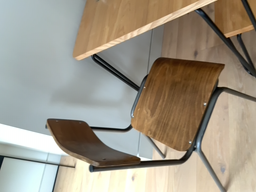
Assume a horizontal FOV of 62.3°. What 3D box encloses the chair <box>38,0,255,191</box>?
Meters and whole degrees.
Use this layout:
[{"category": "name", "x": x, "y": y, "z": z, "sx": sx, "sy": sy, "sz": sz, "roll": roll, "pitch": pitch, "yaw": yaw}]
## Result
[{"category": "chair", "x": 0.160, "y": 0.080, "z": 0.980, "sx": 0.420, "sy": 0.840, "sz": 0.530, "roll": 20, "pitch": 85, "yaw": 49}]
